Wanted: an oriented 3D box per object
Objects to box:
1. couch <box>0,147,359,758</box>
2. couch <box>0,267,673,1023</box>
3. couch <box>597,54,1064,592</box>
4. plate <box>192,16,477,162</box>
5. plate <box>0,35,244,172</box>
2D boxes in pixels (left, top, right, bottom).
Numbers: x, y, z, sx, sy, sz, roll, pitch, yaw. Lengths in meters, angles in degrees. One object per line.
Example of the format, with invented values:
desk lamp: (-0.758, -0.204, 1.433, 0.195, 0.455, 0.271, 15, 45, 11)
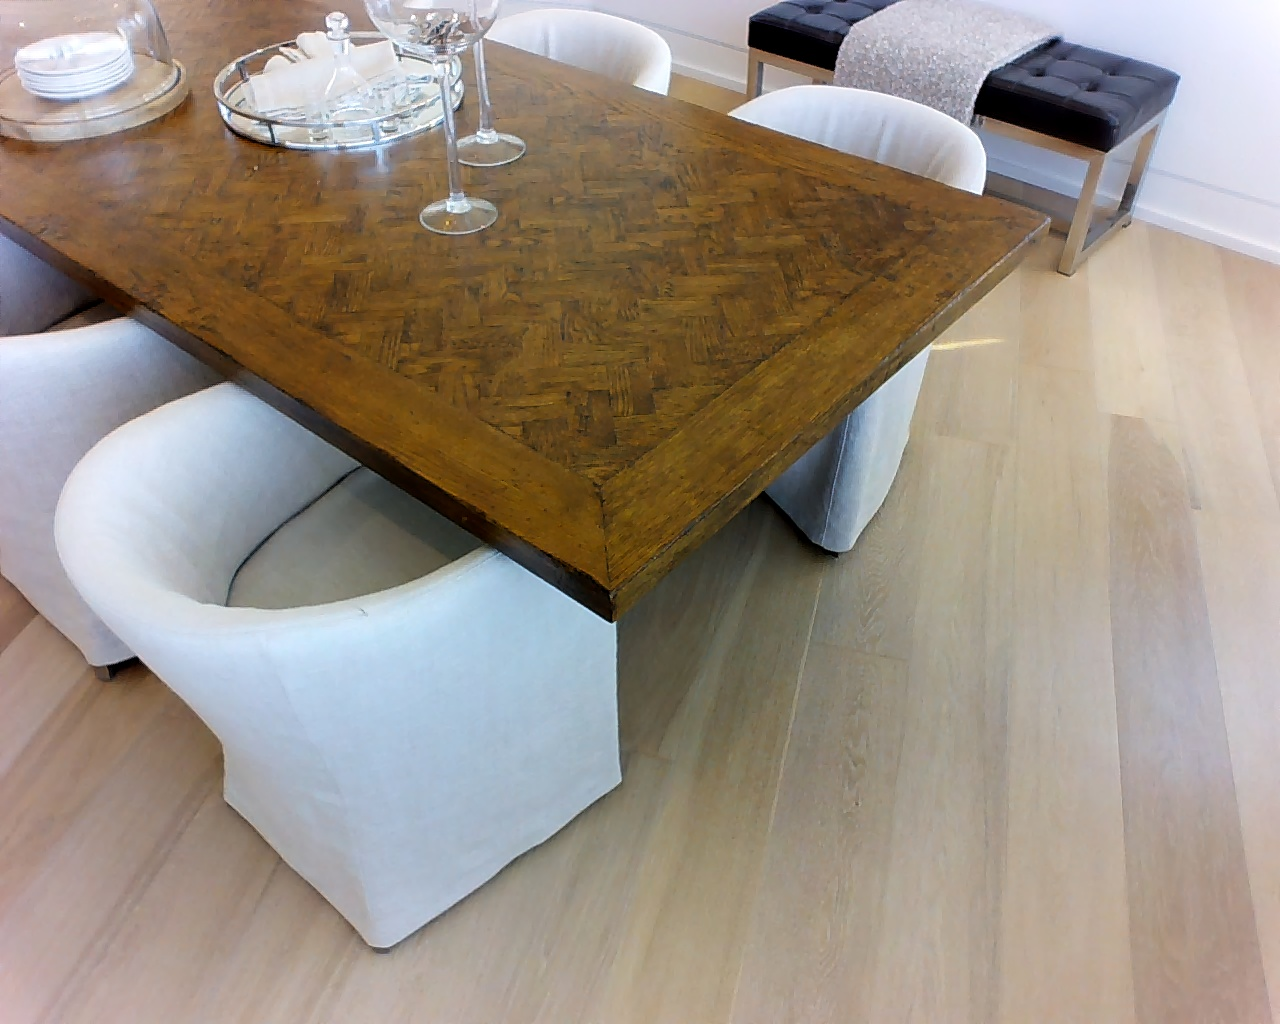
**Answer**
couch: (-1.030, -0.130, 1.970, 0.630, 0.740, 0.610, 29, 50, 28)
couch: (-0.410, 0.210, 1.590, 0.620, 0.770, 0.670, 31, 51, 30)
couch: (0.370, -0.420, 2.280, 0.630, 0.770, 0.640, 29, 50, 28)
plate: (-0.600, -0.850, 2.120, 0.390, 0.080, 0.380, 30, 50, 29)
plate: (-1.100, -0.830, 2.140, 0.450, 0.040, 0.400, 29, 50, 29)
